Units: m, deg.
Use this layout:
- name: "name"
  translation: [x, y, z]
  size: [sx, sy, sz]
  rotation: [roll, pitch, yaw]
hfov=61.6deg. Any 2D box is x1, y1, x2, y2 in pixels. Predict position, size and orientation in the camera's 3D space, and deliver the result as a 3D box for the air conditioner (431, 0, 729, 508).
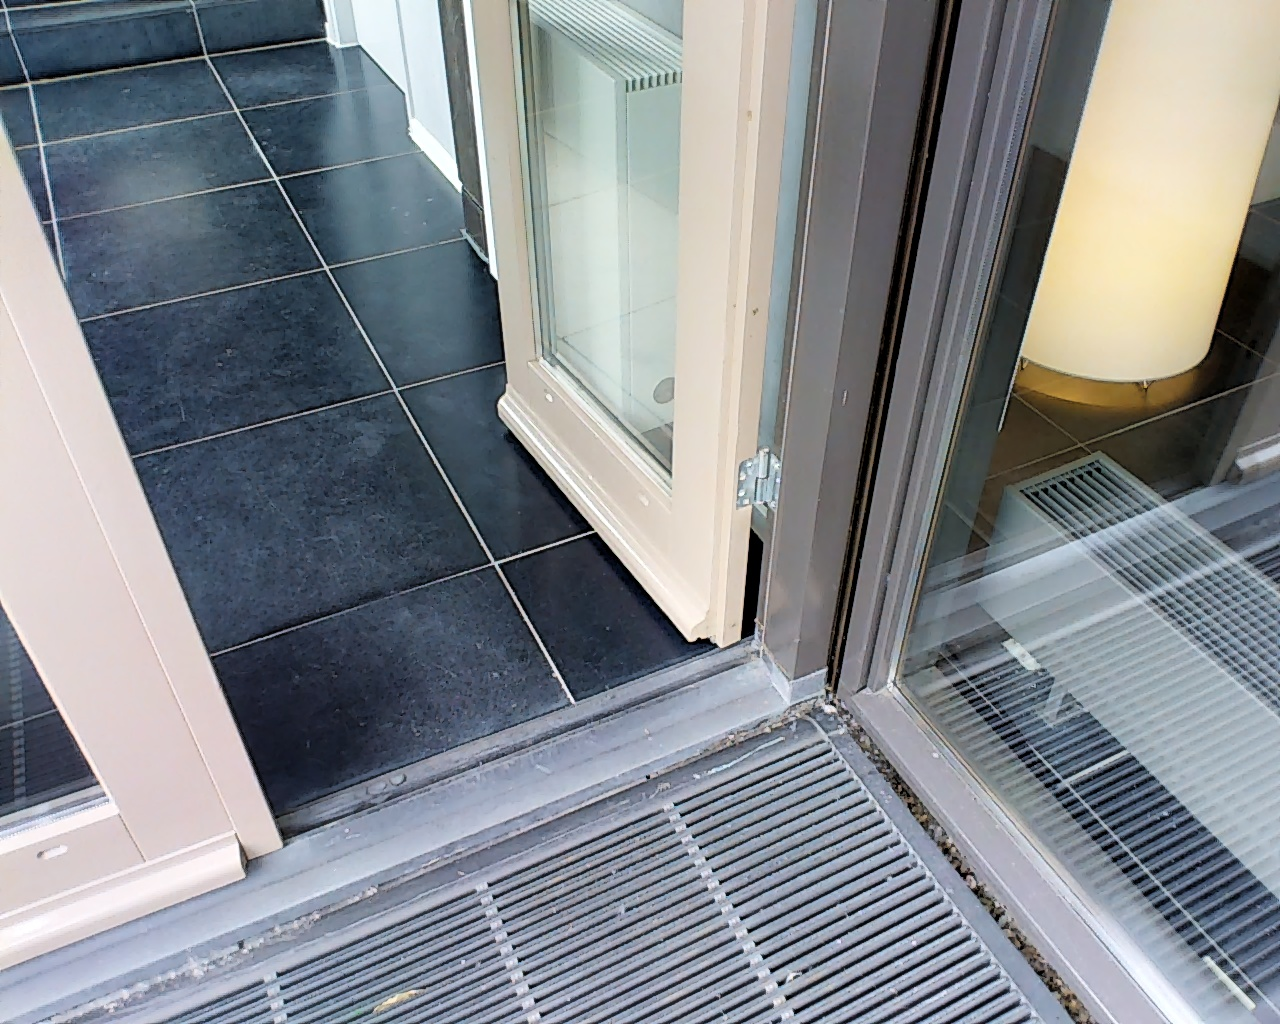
- name: "air conditioner"
  translation: [-0.140, -0.580, 2.060]
  size: [0.210, 0.820, 0.790]
  rotation: [-18, 44, -20]
